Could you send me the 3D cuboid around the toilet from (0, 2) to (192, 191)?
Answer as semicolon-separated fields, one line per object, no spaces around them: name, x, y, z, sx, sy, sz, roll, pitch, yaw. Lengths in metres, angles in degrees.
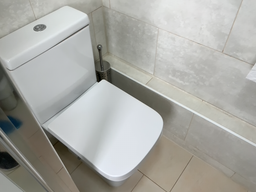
toilet;-0.140;0.090;1.020;0.590;0.780;0.400;31;56;24
